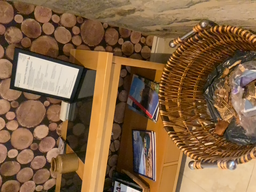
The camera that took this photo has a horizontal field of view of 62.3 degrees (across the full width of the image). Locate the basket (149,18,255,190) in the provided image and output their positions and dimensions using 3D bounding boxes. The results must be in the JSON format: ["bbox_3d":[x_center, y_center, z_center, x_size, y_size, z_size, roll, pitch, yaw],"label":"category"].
[{"bbox_3d":[0.510,-0.010,1.030,0.540,0.490,0.570,20,104,53],"label":"basket"}]
